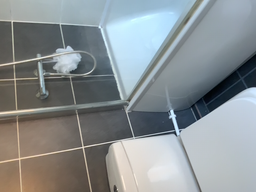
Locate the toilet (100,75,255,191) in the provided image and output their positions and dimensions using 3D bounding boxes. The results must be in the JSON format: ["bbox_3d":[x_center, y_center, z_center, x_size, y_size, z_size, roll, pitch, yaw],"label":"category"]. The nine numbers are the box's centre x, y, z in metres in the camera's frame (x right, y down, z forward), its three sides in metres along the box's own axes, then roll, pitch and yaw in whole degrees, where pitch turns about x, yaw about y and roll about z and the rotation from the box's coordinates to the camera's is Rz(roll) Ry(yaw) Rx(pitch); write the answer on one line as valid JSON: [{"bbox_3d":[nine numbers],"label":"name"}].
[{"bbox_3d":[0.390,0.270,0.930,0.710,0.810,0.390,-55,47,53],"label":"toilet"}]
